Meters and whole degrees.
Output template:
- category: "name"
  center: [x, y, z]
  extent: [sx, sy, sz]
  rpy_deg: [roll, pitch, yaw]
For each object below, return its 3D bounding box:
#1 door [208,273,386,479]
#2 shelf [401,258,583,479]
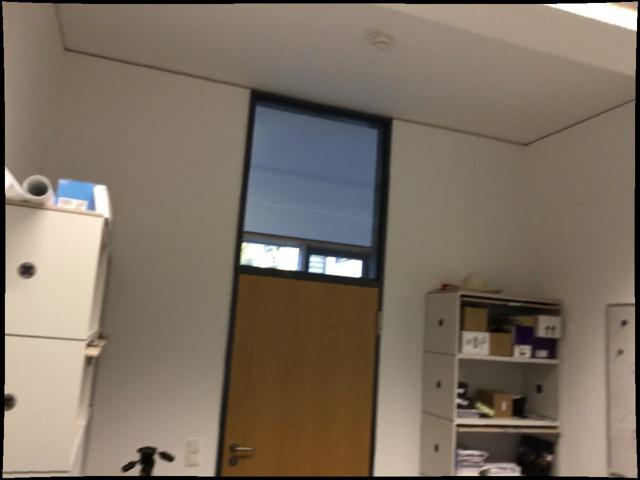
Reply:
- category: "door"
  center: [-0.150, 1.251, 3.470]
  extent: [0.989, 2.022, 0.160]
  rpy_deg: [5, -7, -15]
- category: "shelf"
  center: [1.029, 1.251, 3.530]
  extent: [0.899, 2.182, 0.520]
  rpy_deg: [5, -7, -15]
